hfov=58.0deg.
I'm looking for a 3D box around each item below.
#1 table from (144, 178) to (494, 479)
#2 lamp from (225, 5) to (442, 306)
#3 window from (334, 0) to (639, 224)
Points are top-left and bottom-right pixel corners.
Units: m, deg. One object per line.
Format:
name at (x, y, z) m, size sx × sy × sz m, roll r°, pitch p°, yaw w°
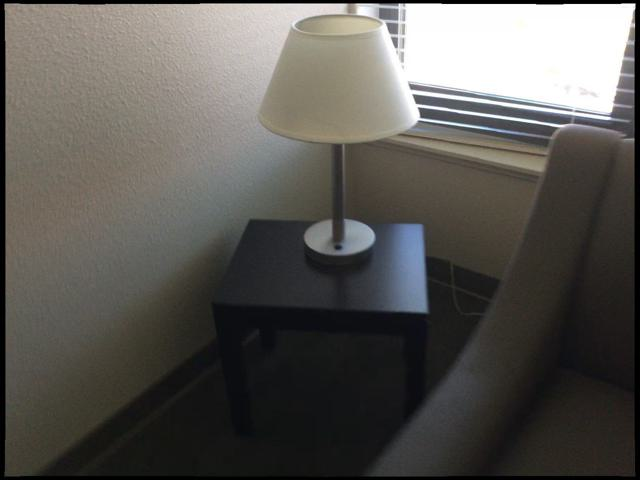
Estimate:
table at (0.010, 0.240, 1.660) m, size 0.689 × 0.481 × 0.630 m, roll 22°, pitch 40°, yaw 35°
lamp at (0.050, -0.220, 1.420) m, size 0.330 × 0.591 × 0.350 m, roll 22°, pitch 40°, yaw 35°
window at (0.848, -0.491, 1.520) m, size 1.778 × 0.761 × 0.390 m, roll 22°, pitch 40°, yaw 35°
